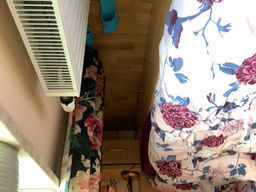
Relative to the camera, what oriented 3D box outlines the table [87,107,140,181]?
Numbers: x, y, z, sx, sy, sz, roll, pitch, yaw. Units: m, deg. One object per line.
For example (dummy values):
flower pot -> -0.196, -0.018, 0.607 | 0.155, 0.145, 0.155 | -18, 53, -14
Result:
table -> -0.140, 0.460, 2.050 | 0.430, 0.590, 0.390 | 0, 144, -5
